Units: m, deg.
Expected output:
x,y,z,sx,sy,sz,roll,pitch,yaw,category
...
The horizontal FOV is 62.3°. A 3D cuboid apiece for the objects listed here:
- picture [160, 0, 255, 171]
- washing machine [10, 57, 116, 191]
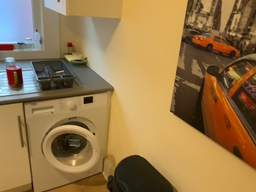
x,y,z,sx,sy,sz,roll,pitch,yaw,category
0.370,-0.300,0.700,0.040,0.990,0.510,-9,29,-31,picture
-0.640,0.200,1.970,0.640,0.880,0.900,-8,29,-30,washing machine
